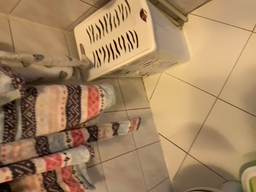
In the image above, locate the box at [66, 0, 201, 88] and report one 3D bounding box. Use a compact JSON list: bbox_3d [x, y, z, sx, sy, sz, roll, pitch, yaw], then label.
[{"bbox_3d":[0.050,-0.240,1.020,0.380,0.490,0.270,-26,76,33],"label":"box"}]
